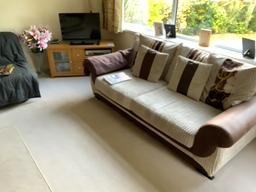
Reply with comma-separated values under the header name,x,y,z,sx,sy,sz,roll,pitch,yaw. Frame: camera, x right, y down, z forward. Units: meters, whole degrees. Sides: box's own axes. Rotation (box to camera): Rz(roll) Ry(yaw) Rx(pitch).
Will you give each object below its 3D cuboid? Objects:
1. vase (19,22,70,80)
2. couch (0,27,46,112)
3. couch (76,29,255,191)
name,x,y,z,sx,sy,sz,roll,pitch,yaw
vase,-1.410,-0.790,3.630,0.570,0.780,0.510,-20,36,-34
couch,-1.820,-0.390,2.940,0.890,0.850,0.910,-20,36,-34
couch,0.370,-0.110,2.520,0.990,0.850,2.090,-21,36,-34
